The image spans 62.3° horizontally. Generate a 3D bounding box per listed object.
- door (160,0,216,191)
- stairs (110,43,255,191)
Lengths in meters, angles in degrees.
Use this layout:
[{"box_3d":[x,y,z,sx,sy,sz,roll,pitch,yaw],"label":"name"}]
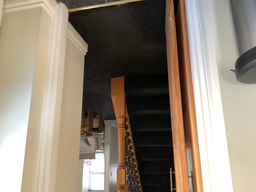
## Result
[{"box_3d":[0.330,0.340,1.240,0.110,1.870,0.580,-1,165,1],"label":"door"},{"box_3d":[0.550,1.640,3.170,1.060,1.240,4.570,3,127,6],"label":"stairs"}]
